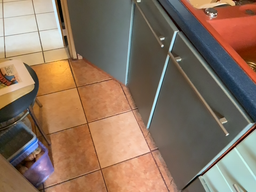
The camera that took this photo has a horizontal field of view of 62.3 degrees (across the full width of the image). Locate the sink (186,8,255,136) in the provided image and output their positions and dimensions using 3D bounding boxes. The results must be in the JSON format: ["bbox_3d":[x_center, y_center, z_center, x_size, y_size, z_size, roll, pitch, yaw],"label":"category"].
[{"bbox_3d":[0.520,-0.120,0.770,0.430,0.220,0.360,-14,55,-16],"label":"sink"}]
